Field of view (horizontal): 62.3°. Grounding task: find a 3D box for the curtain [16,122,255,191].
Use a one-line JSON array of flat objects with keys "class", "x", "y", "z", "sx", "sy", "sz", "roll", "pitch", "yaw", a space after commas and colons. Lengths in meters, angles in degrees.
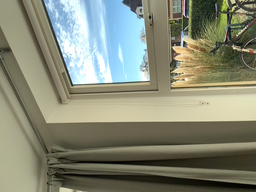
[{"class": "curtain", "x": 0.640, "y": 0.320, "z": 0.950, "sx": 0.220, "sy": 2.390, "sz": 0.360, "roll": -32, "pitch": -61, "yaw": -77}]
